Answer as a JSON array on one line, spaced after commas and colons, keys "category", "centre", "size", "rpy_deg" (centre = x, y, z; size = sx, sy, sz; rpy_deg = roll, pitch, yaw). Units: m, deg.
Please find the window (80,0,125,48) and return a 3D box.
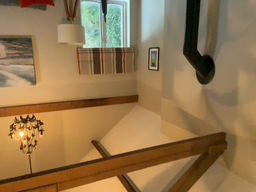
[{"category": "window", "centre": [-0.500, -1.460, 4.370], "size": [0.910, 0.920, 0.090], "rpy_deg": [-7, -166, -27]}]
